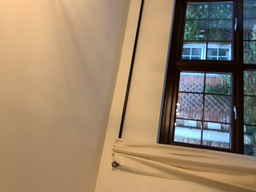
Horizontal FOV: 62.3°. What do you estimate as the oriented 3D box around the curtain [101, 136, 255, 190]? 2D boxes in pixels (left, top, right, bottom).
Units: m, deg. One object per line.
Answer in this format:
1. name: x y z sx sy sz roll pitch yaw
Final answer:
1. curtain: 0.710 0.590 1.780 0.180 1.900 0.240 50 -133 -69
